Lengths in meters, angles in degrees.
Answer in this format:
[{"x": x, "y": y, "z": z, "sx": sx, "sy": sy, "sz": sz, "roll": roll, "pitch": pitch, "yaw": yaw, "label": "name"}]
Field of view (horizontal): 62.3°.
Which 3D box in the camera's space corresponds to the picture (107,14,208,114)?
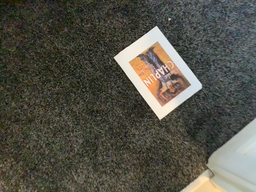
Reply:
[{"x": 0.110, "y": -0.120, "z": 0.810, "sx": 0.270, "sy": 0.040, "sz": 0.270, "roll": -38, "pitch": 88, "yaw": -5, "label": "picture"}]
